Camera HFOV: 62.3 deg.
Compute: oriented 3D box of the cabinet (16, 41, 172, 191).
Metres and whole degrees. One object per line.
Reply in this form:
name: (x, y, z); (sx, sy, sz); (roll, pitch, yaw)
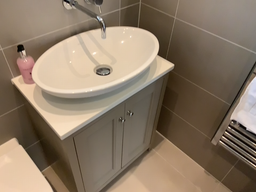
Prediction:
cabinet: (-0.150, 0.170, 1.220); (0.610, 0.690, 0.380); (-33, 55, -31)
